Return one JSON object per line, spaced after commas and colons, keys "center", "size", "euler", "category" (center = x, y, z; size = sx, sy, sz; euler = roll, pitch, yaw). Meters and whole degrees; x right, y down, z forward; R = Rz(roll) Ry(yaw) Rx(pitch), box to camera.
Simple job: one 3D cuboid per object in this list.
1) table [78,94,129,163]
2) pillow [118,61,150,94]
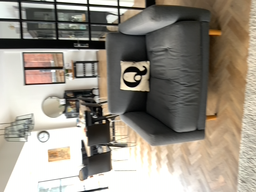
{"center": [-0.640, 0.600, 4.870], "size": [1.830, 0.790, 0.970], "euler": [-151, 60, -69], "category": "table"}
{"center": [0.060, -0.180, 2.030], "size": [0.150, 0.290, 0.290], "euler": [9, 101, 42], "category": "pillow"}
